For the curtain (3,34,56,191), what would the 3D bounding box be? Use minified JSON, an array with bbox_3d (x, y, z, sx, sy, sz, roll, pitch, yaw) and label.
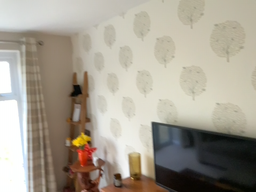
[{"bbox_3d":[-1.230,0.370,2.690,0.410,2.180,0.300,-6,7,-30],"label":"curtain"}]
